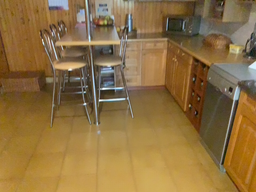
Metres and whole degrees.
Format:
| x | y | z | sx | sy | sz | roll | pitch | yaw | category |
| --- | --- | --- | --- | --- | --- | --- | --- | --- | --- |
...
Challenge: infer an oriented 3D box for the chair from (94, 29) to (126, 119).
| x | y | z | sx | sy | sz | roll | pitch | yaw | category |
| --- | --- | --- | --- | --- | --- | --- | --- | --- | --- |
| -0.210 | -0.250 | 2.600 | 0.330 | 1.060 | 0.270 | -3 | 25 | -6 | chair |

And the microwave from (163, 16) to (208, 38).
| x | y | z | sx | sy | sz | roll | pitch | yaw | category |
| --- | --- | --- | --- | --- | --- | --- | --- | --- | --- |
| 0.900 | -1.130 | 3.420 | 0.550 | 0.270 | 0.480 | -3 | 25 | -7 | microwave |
